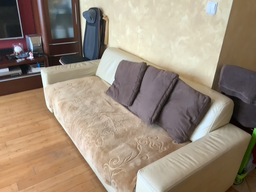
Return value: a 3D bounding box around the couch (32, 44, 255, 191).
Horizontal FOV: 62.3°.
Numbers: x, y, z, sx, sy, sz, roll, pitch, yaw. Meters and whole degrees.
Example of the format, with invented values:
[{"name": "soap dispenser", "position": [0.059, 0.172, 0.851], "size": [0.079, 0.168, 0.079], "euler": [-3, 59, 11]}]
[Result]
[{"name": "couch", "position": [-0.080, 0.160, 1.970], "size": [0.960, 0.740, 1.950], "euler": [-16, 34, -32]}]
